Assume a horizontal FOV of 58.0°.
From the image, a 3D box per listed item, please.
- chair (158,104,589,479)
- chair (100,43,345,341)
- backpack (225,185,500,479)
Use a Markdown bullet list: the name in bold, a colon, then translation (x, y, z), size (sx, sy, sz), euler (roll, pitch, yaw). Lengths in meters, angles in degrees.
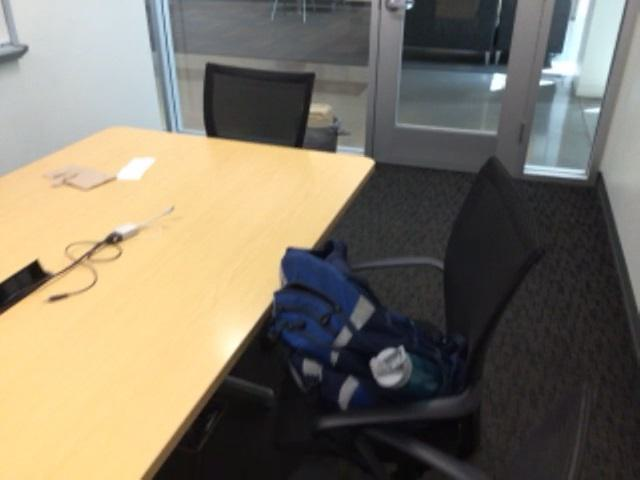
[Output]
- **chair**: translation (0.160, 0.250, 1.320), size (0.620, 0.890, 0.670), euler (13, 32, 23)
- **chair**: translation (-0.300, -0.210, 2.200), size (0.640, 0.910, 0.570), euler (9, 31, 17)
- **backpack**: translation (0.110, 0.180, 1.220), size (0.400, 0.390, 0.450), euler (12, 32, 22)
